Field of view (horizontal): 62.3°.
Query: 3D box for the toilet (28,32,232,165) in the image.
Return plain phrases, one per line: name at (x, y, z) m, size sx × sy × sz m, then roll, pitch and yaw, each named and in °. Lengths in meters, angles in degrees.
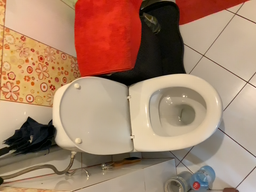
toilet at (0.080, 0.100, 1.050) m, size 0.710 × 0.750 × 0.360 m, roll -8°, pitch 77°, yaw 27°
